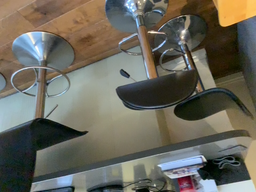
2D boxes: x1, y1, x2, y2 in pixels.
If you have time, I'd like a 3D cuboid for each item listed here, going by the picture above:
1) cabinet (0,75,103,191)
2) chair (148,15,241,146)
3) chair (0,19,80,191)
[{"bbox_3d":[-0.780,0.480,1.880,0.850,0.900,0.700,-16,149,14],"label":"cabinet"},{"bbox_3d":[0.410,-0.090,1.370,0.330,0.690,0.360,-22,147,22],"label":"chair"},{"bbox_3d":[-0.600,0.150,1.230,0.450,1.020,0.450,-19,148,18],"label":"chair"}]
